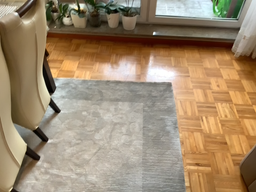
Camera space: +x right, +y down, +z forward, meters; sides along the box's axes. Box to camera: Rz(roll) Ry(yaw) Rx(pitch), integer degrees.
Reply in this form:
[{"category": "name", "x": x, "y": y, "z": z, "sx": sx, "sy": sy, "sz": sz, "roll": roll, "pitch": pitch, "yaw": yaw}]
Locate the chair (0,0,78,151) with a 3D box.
[{"category": "chair", "x": -0.740, "y": -0.130, "z": 1.310, "sx": 0.610, "sy": 0.950, "sz": 0.430, "roll": 7, "pitch": 47, "yaw": 5}]
